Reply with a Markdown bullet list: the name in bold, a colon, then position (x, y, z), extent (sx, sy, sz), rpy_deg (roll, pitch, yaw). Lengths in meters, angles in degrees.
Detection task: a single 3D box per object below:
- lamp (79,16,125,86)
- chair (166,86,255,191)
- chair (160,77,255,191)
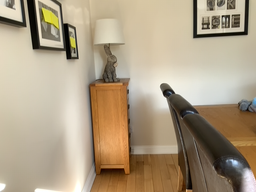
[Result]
- **lamp**: position (-0.250, -0.470, 2.290), extent (0.400, 0.660, 0.420), rpy_deg (-3, 10, 1)
- **chair**: position (0.560, 0.500, 1.170), extent (0.610, 1.030, 0.450), rpy_deg (-3, 10, 3)
- **chair**: position (0.600, 0.390, 1.740), extent (0.610, 1.030, 0.440), rpy_deg (-2, 11, 6)
